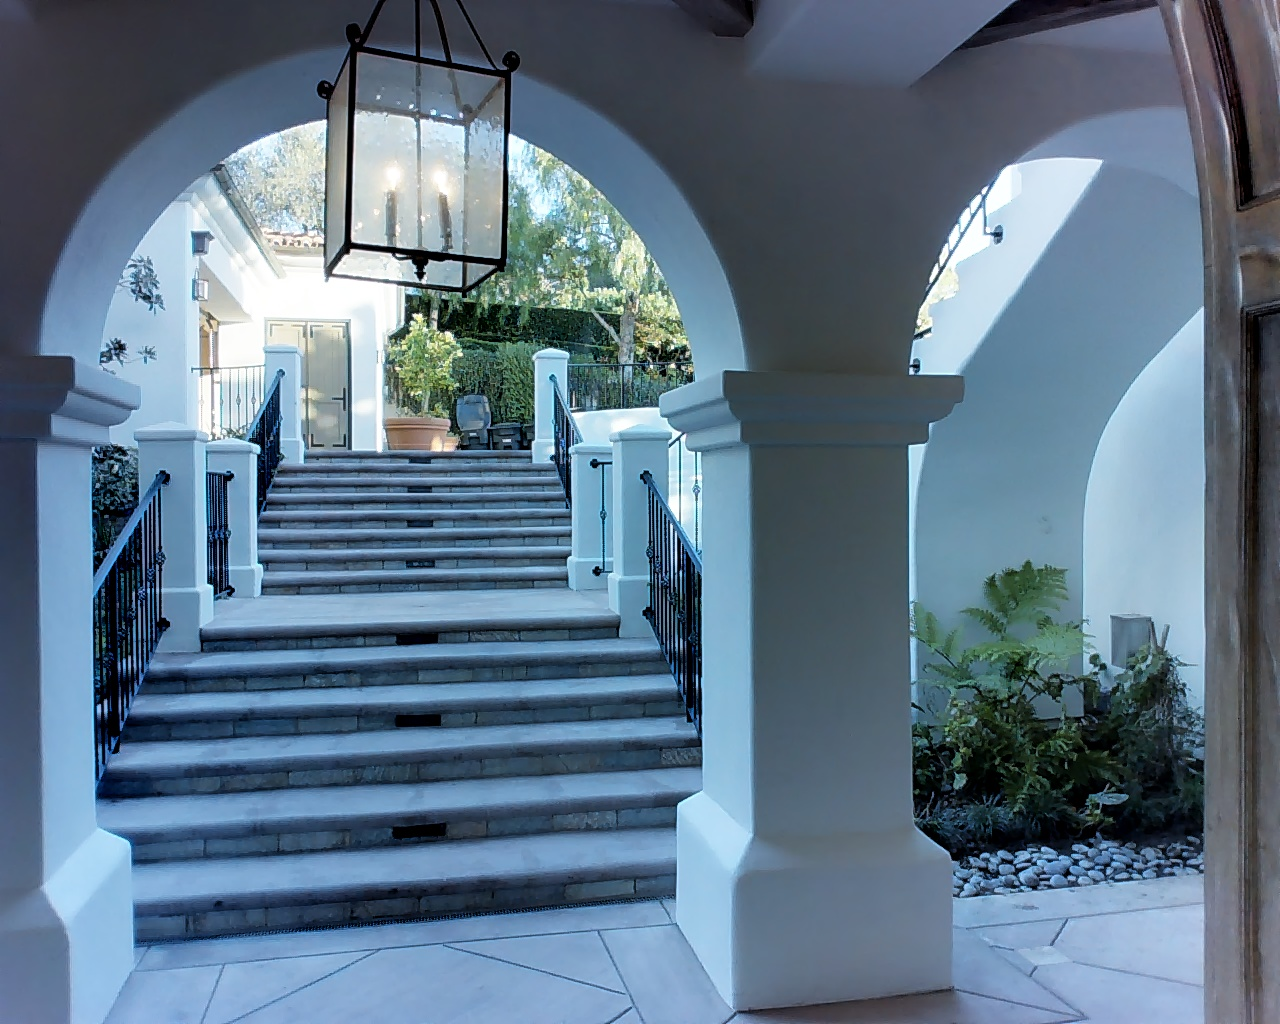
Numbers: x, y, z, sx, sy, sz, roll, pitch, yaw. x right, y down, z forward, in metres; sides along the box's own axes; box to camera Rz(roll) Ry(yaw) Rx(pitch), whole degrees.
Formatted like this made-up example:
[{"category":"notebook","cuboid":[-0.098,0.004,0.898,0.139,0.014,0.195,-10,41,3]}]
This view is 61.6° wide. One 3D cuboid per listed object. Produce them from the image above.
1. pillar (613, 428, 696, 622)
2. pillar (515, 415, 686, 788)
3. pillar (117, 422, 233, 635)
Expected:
[{"category":"pillar","cuboid":[0.090,0.080,6.940,0.440,1.210,0.430,-1,0,-12]},{"category":"pillar","cuboid":[-0.290,0.530,6.970,0.930,2.221,1.000,-1,0,-12]},{"category":"pillar","cuboid":[-2.749,0.090,6.380,0.530,1.210,0.460,-1,0,-11]}]
